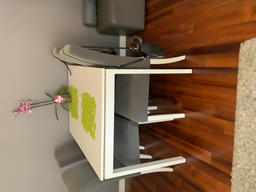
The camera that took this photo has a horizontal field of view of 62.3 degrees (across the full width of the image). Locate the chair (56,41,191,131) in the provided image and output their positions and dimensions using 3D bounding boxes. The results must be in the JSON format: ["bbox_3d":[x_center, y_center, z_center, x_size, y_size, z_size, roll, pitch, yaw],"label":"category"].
[{"bbox_3d":[-0.050,-0.110,1.780,0.510,0.980,0.570,19,109,62],"label":"chair"}]

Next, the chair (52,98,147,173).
[{"bbox_3d":[-0.330,0.380,2.420,0.510,0.940,0.610,19,109,62],"label":"chair"}]
